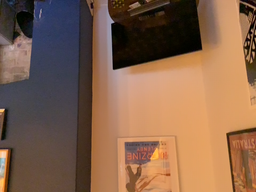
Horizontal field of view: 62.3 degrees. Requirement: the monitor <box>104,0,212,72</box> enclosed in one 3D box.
[{"bbox_3d":[0.180,-0.470,1.670,0.860,0.400,0.070,-9,166,29],"label":"monitor"}]
